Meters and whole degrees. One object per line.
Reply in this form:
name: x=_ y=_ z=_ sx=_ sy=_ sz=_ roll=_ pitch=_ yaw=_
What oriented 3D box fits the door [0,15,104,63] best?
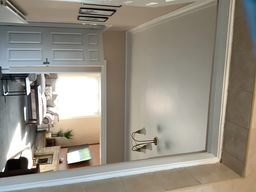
door: x=-1.540 y=-1.110 z=4.200 sx=0.070 sy=2.060 sz=0.910 roll=149 pitch=-63 yaw=-72
